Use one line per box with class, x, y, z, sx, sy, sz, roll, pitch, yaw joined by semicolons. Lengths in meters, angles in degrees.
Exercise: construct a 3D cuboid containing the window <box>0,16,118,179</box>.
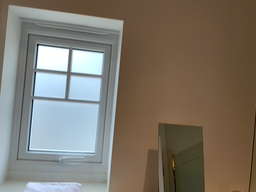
window;-0.380;0.020;1.220;0.560;0.860;0.080;5;-1;-7
